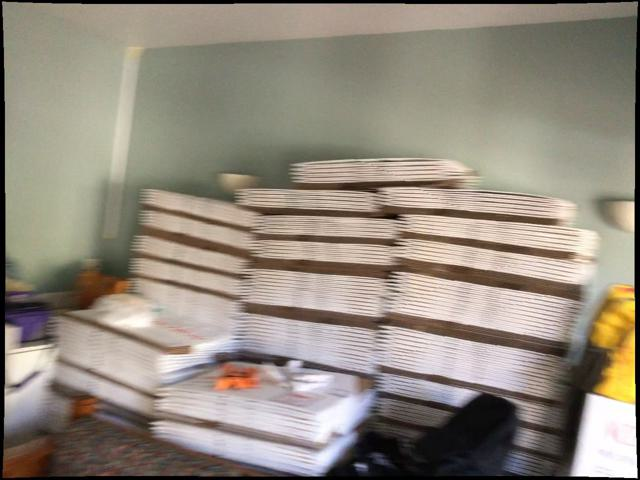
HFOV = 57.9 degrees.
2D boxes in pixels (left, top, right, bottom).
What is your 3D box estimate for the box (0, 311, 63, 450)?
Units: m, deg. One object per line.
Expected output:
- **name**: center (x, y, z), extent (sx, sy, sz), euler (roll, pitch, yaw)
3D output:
- **box**: center (-1.518, 0.661, 2.810), extent (0.430, 0.531, 0.250), euler (8, 5, 28)
